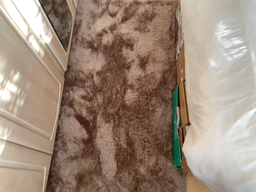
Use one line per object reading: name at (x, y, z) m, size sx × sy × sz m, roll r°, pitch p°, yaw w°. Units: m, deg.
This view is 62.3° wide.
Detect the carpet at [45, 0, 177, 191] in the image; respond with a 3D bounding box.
carpet at (-0.050, -0.110, 1.490) m, size 0.760 × 0.020 × 1.530 m, roll 3°, pitch 69°, yaw 2°
